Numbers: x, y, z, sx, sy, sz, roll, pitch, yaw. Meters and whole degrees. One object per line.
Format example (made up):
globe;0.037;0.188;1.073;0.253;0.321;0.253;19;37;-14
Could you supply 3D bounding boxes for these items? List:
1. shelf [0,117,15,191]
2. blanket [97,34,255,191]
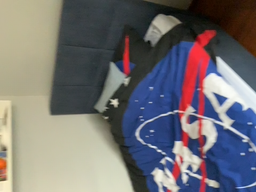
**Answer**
shelf;-0.830;0.410;1.270;0.620;0.270;0.150;62;142;42
blanket;0.190;0.350;1.090;0.900;0.280;0.930;-64;38;41
